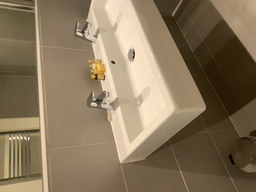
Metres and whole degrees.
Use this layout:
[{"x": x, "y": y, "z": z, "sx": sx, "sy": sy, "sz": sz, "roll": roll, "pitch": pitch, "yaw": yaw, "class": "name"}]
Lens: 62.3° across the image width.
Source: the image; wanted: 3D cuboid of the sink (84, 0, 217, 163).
[{"x": -0.010, "y": -0.250, "z": 1.050, "sx": 0.470, "sy": 0.170, "sz": 1.000, "roll": -57, "pitch": 42, "yaw": 48, "class": "sink"}]
